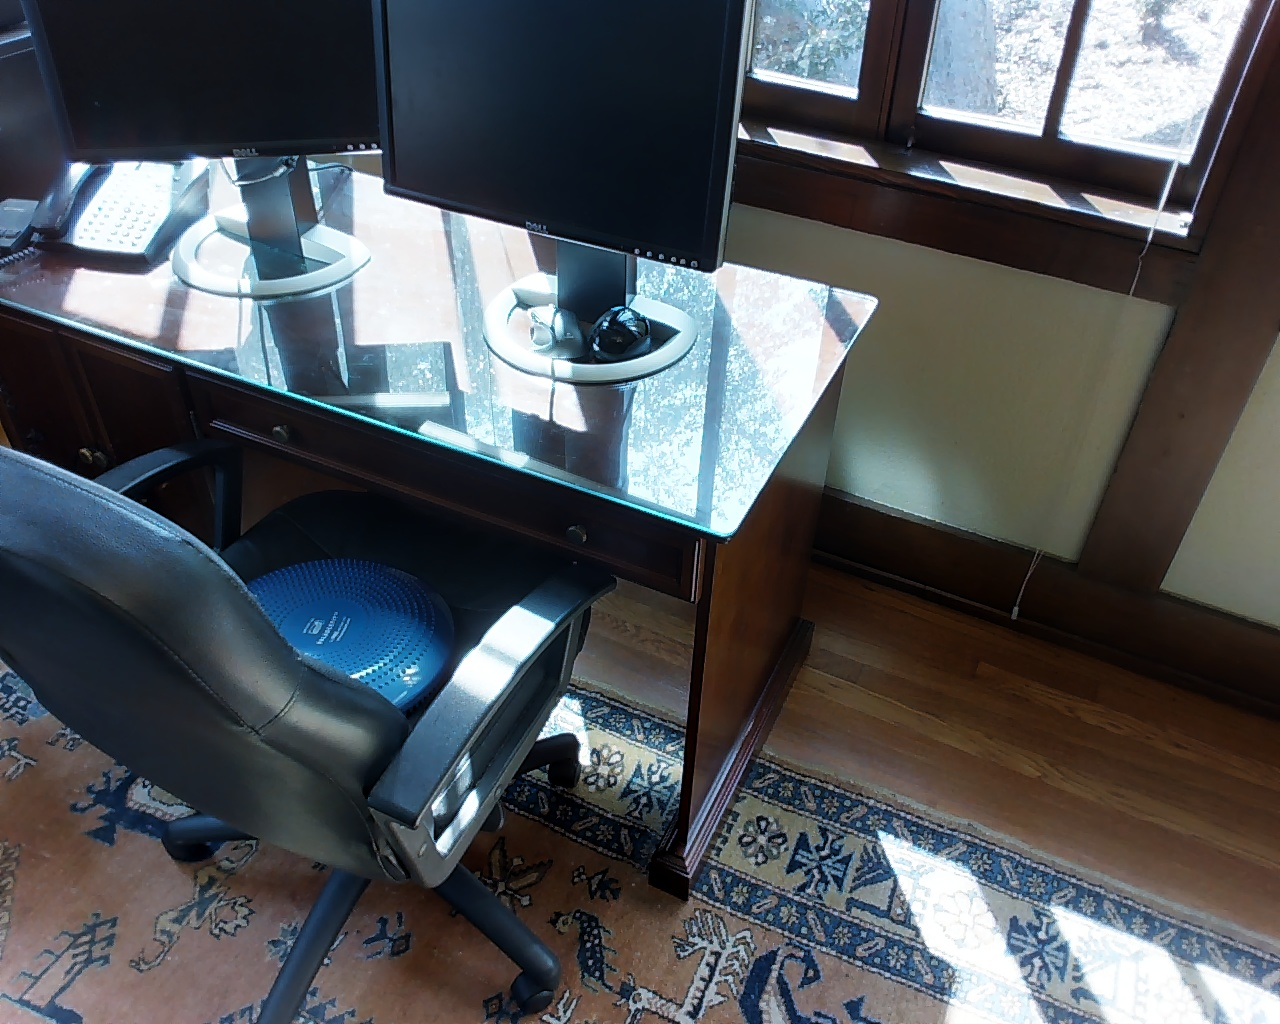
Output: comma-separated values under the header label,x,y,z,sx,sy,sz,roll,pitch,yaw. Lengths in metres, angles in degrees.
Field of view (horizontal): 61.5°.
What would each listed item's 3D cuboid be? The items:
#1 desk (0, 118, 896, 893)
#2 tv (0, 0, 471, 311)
label,x,y,z,sx,sy,sz,roll,pitch,yaw
desk,-0.350,-0.070,1.820,1.300,0.750,0.600,19,45,19
tv,-0.520,-0.570,1.450,0.500,0.530,0.200,4,42,3
